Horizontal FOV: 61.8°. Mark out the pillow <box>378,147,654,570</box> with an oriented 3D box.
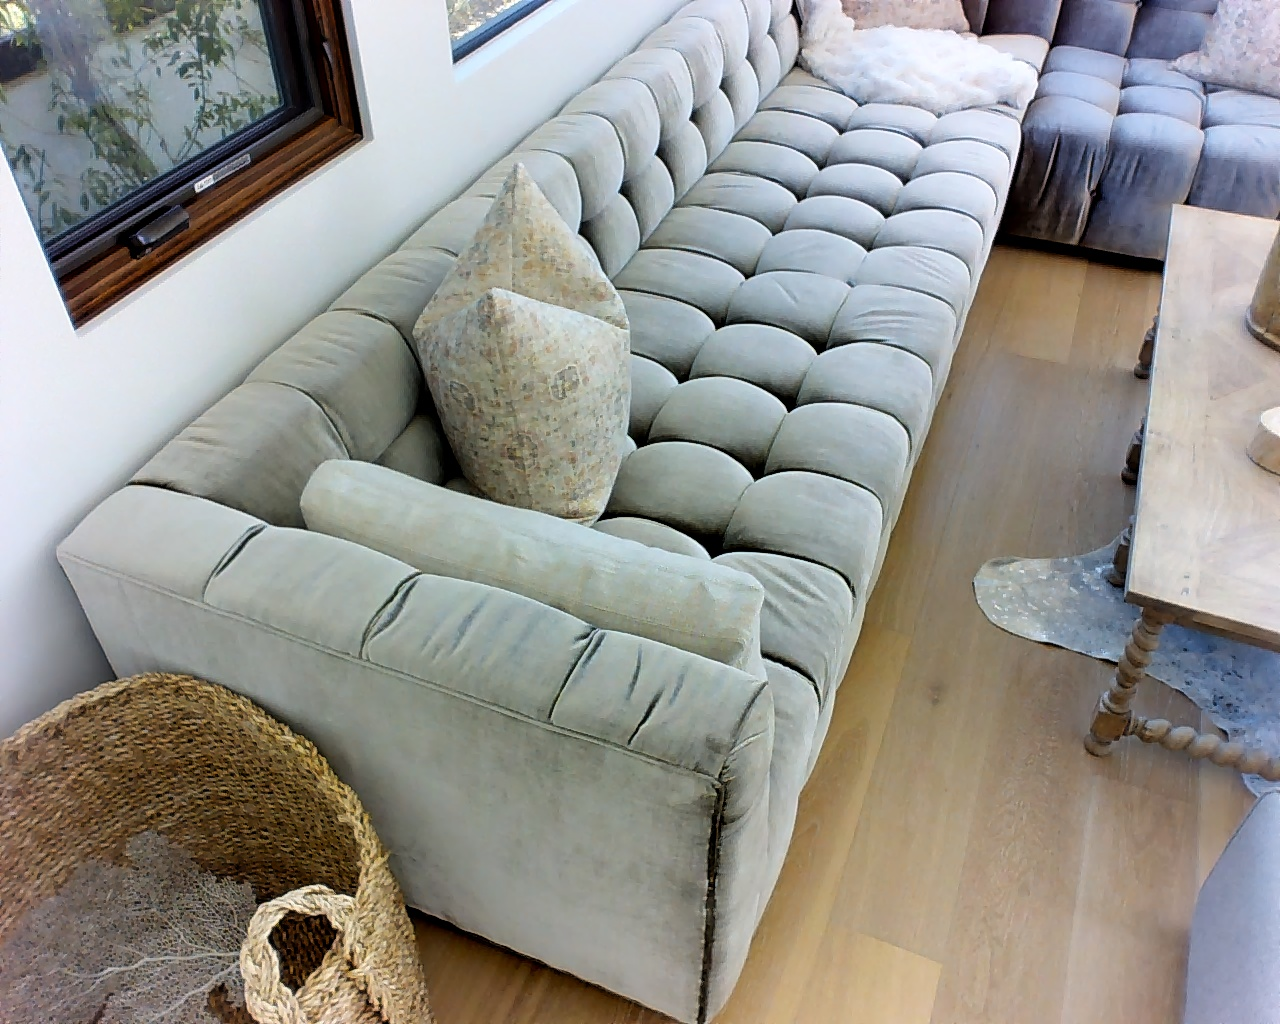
[{"bbox_3d":[-0.170,-0.280,1.890,0.390,0.510,0.570,0,41,1],"label":"pillow"}]
